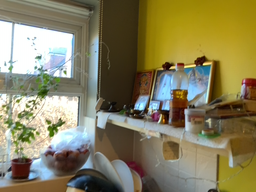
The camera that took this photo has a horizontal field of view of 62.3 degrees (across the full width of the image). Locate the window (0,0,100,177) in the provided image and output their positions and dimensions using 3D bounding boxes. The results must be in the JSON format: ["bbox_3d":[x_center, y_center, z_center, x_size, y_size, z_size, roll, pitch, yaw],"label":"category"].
[{"bbox_3d":[-0.620,-0.120,1.130,0.940,1.050,0.120,2,-1,-32],"label":"window"}]
